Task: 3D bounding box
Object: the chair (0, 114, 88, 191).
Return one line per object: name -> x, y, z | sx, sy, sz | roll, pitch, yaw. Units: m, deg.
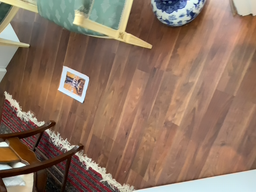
chair -> -0.820, 0.510, 1.350 | 0.420, 0.990, 0.560 | 26, 105, 28
